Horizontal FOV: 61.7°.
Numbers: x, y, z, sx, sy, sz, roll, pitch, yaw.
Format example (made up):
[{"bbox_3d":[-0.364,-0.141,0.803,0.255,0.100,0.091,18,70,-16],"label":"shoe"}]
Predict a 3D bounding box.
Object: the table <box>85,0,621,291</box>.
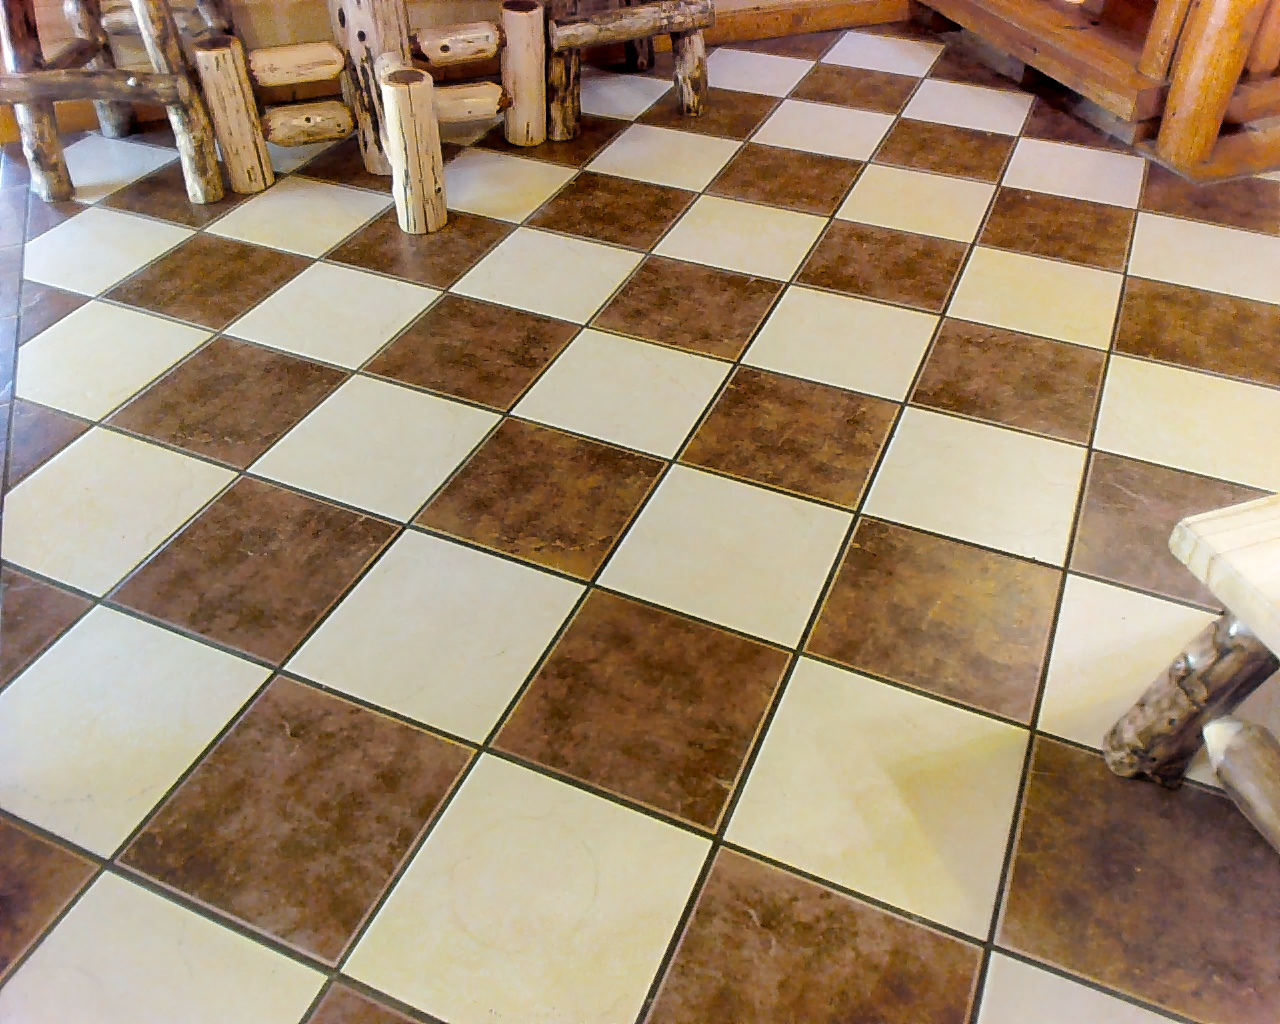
[{"bbox_3d":[-0.710,-1.340,2.460,1.020,1.090,1.090,-14,44,-16],"label":"table"}]
